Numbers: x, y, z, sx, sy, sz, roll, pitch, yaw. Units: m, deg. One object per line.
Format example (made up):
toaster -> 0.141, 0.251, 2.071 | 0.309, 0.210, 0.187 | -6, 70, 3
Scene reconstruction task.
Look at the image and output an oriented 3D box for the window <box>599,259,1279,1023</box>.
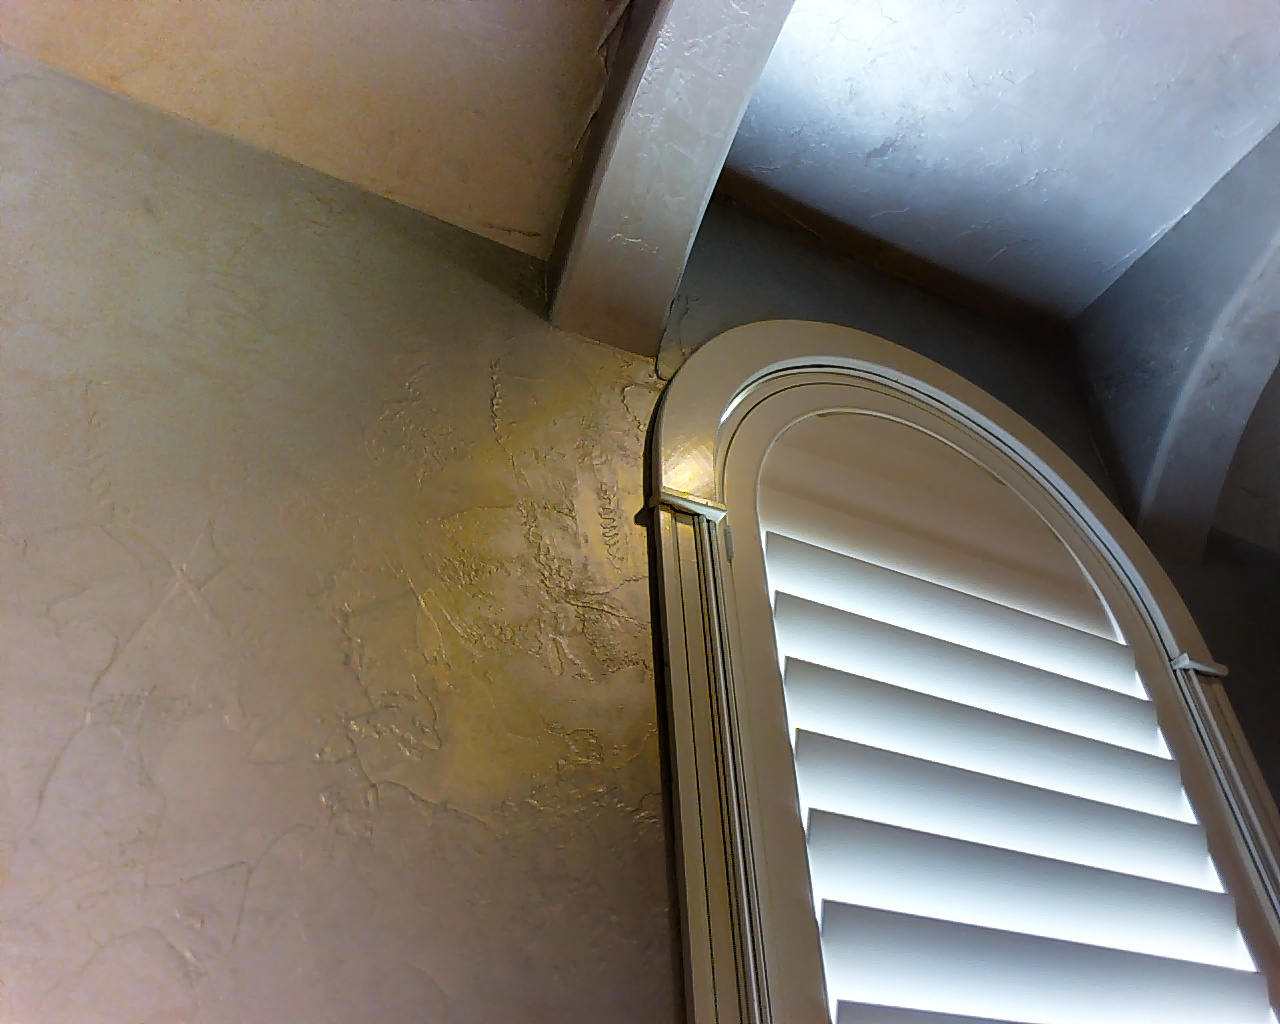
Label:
window -> 0.490, 0.360, 1.390 | 1.130, 1.520, 0.070 | 17, -45, -23
